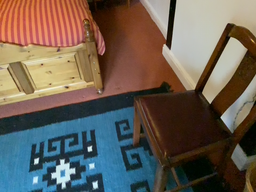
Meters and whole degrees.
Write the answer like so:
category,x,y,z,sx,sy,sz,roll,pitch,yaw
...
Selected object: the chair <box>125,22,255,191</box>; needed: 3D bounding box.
category,x,y,z,sx,sy,sz,roll,pitch,yaw
chair,0.320,0.150,1.100,0.550,0.830,0.470,-10,46,-7
